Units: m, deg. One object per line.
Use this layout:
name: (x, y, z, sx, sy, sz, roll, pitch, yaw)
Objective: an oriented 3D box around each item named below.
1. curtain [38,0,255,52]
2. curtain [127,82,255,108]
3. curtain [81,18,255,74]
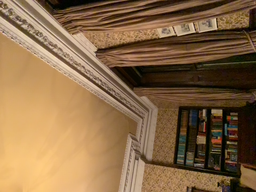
curtain: (0.440, -0.940, 2.270, 0.470, 3.350, 0.490, 32, -117, -59)
curtain: (1.610, -0.020, 4.420, 0.570, 3.370, 0.300, 42, -126, -55)
curtain: (0.800, -0.650, 2.940, 0.310, 3.310, 0.480, 38, -122, -57)
